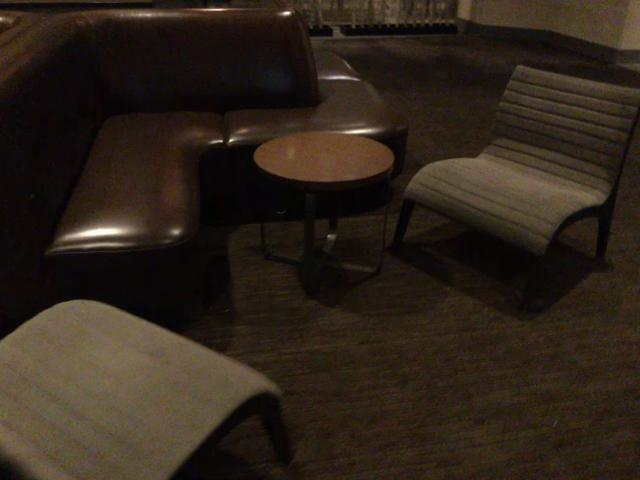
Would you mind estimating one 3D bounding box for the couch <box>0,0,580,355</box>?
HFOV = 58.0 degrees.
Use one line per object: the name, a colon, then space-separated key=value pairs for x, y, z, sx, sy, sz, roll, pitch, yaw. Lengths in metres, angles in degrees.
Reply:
couch: x=-1.390 y=-1.100 z=3.270 sx=3.490 sy=0.960 sz=4.030 roll=-5 pitch=33 yaw=-12
